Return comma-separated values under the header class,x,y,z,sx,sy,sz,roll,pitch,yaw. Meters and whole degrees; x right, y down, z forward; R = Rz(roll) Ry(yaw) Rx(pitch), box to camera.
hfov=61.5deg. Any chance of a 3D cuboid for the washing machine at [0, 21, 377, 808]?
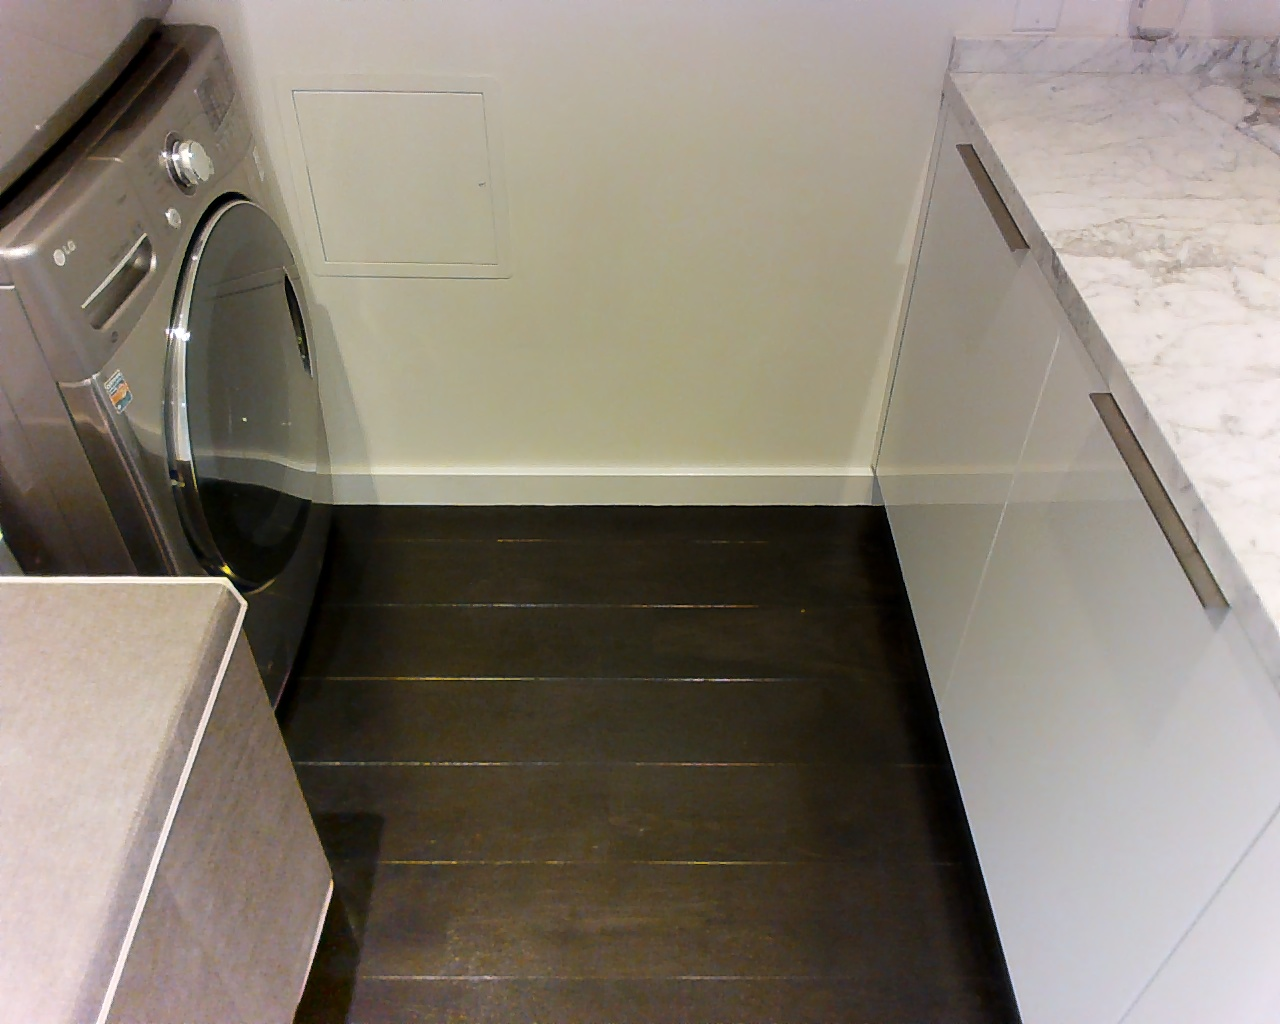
class,x,y,z,sx,sy,sz,roll,pitch,yaw
washing machine,-0.830,-0.130,1.700,0.540,0.990,0.740,0,43,-1
